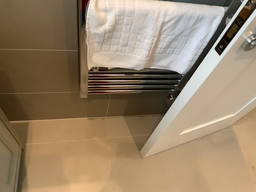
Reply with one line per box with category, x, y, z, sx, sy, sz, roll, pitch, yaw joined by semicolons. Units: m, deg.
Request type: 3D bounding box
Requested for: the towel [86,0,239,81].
towel;0.090;-0.180;0.770;0.470;0.310;0.080;0;58;-12
